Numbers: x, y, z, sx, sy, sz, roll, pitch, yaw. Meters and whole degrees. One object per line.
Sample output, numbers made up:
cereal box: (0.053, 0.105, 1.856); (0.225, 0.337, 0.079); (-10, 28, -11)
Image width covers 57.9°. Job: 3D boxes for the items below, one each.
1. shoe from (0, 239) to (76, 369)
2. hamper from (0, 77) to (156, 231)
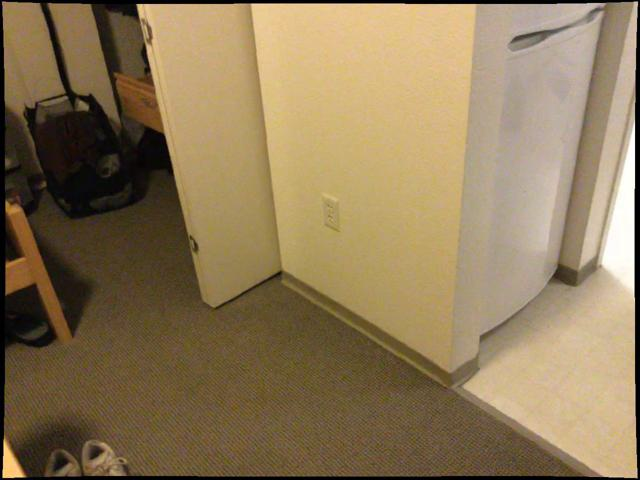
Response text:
shoe: (-1.179, 0.220, 2.180); (0.250, 0.170, 0.550); (-29, 41, -33)
hamper: (-1.209, -0.450, 2.880); (0.440, 0.510, 0.570); (-29, 41, -33)
